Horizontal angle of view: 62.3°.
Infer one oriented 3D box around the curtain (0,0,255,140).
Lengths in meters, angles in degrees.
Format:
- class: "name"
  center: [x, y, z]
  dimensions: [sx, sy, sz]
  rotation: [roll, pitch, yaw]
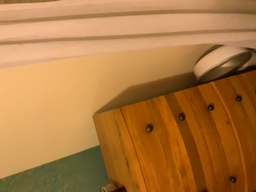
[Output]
- class: "curtain"
  center: [-0.050, -0.200, 0.950]
  dimensions: [0.300, 2.380, 0.410]
  rotation: [58, 151, 36]
